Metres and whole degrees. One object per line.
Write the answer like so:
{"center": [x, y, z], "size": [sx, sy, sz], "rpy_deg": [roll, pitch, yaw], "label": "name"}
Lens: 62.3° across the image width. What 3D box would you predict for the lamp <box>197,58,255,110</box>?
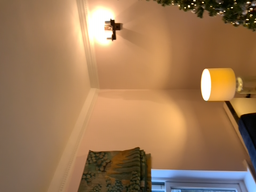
{"center": [1.070, -0.130, 2.130], "size": [0.410, 0.610, 0.370], "rpy_deg": [-82, -8, -60], "label": "lamp"}
